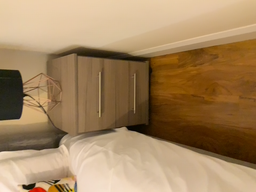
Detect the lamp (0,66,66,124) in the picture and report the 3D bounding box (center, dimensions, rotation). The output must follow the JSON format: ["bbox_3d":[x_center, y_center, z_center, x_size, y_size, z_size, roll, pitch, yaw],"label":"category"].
[{"bbox_3d":[-0.550,-0.010,1.050,0.230,0.410,0.250,5,95,53],"label":"lamp"}]
